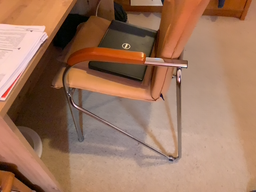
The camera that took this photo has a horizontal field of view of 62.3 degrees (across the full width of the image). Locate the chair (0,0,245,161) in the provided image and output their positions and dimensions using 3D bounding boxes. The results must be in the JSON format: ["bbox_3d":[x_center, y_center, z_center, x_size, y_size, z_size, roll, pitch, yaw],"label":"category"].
[{"bbox_3d":[0.000,-0.200,0.970,0.580,0.850,0.620,5,51,6],"label":"chair"}]
